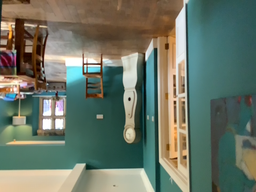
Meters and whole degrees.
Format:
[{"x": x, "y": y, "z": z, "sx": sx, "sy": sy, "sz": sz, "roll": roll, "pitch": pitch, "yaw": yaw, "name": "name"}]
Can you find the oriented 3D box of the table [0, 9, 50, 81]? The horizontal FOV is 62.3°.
[{"x": -2.390, "y": -0.670, "z": 3.030, "sx": 2.200, "sy": 0.790, "sz": 0.890, "roll": 0, "pitch": 177, "yaw": -2, "name": "table"}]
